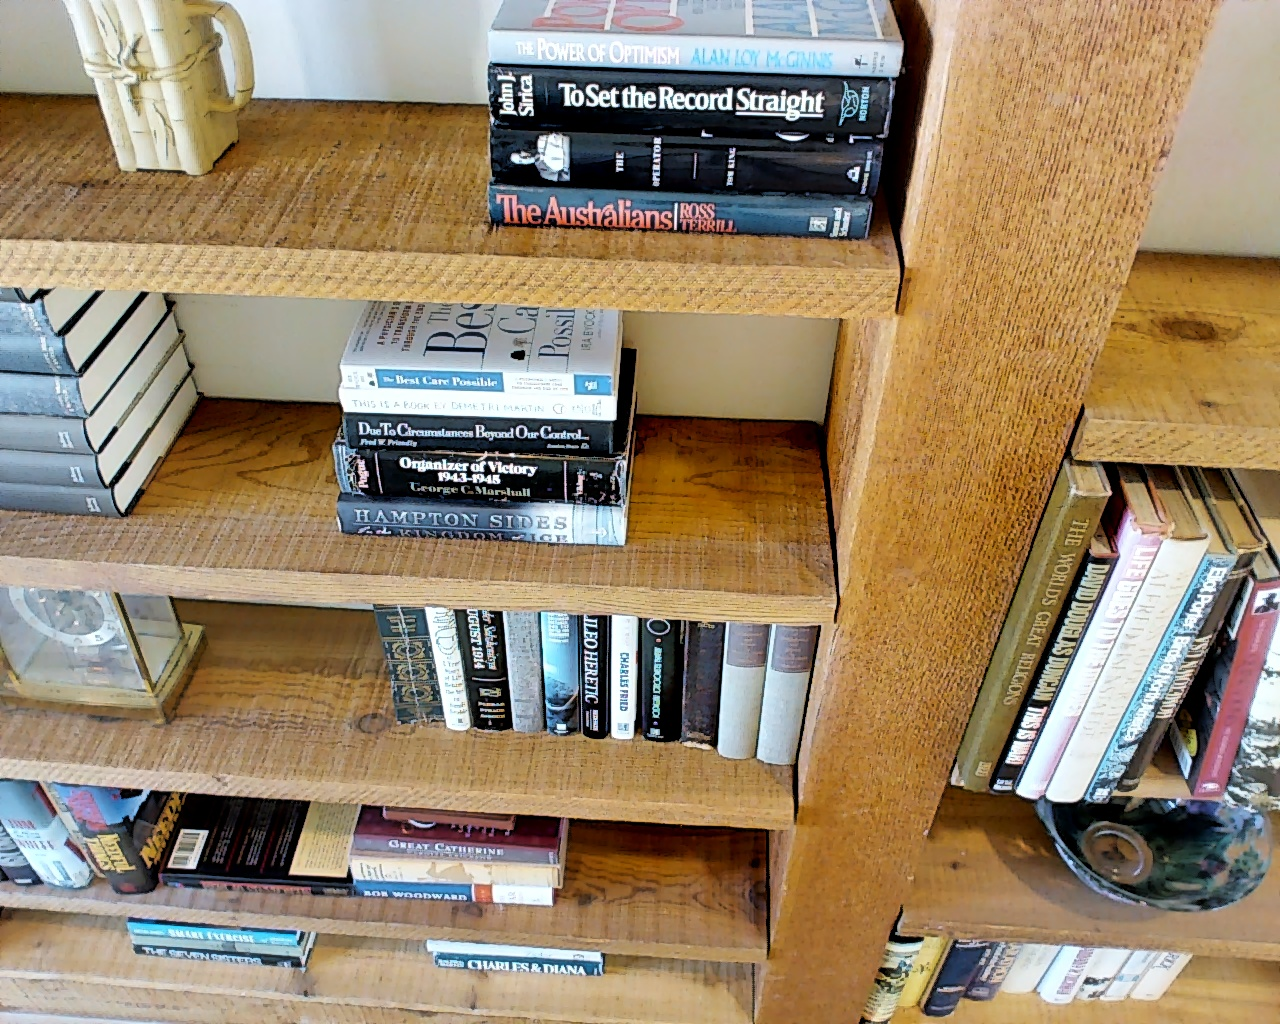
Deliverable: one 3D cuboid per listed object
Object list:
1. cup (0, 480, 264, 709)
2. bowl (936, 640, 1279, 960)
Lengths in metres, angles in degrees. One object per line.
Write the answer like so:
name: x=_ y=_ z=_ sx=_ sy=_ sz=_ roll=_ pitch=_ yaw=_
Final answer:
cup: x=-0.590 y=0.090 z=1.190 sx=0.260 sy=0.170 sz=0.160 roll=4 pitch=43 yaw=4
bowl: x=0.540 y=0.320 z=1.220 sx=0.340 sy=0.190 sz=0.260 roll=4 pitch=43 yaw=4
